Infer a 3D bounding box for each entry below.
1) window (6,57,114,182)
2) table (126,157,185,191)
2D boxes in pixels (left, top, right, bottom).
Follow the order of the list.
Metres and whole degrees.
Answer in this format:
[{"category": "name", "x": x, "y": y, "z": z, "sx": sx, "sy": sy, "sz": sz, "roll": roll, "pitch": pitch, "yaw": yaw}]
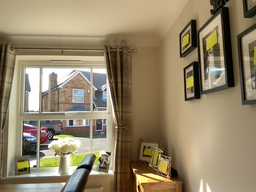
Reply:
[{"category": "window", "x": -0.850, "y": 0.270, "z": 2.800, "sx": 1.290, "sy": 1.540, "sz": 0.230, "roll": -1, "pitch": -5, "yaw": -6}, {"category": "table", "x": 0.230, "y": 1.080, "z": 2.110, "sx": 0.400, "sy": 0.760, "sz": 0.830, "roll": -1, "pitch": -5, "yaw": -6}]
